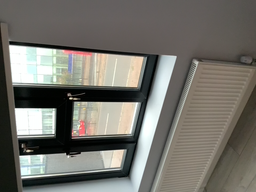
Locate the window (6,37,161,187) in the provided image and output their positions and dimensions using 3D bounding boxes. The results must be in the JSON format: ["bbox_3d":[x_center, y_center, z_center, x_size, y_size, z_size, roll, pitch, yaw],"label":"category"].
[{"bbox_3d":[-0.390,0.240,1.870,0.060,1.120,1.360,-121,37,-57],"label":"window"}]
